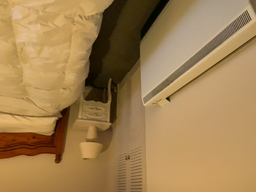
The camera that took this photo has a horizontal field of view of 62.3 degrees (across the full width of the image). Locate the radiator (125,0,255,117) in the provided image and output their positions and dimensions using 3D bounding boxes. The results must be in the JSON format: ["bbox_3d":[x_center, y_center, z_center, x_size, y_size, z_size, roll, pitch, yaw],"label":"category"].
[{"bbox_3d":[0.310,-0.410,1.440,0.200,0.770,1.240,10,155,-20],"label":"radiator"}]

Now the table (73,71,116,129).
[{"bbox_3d":[-0.440,0.070,2.790,0.440,0.620,0.380,9,156,-18],"label":"table"}]
